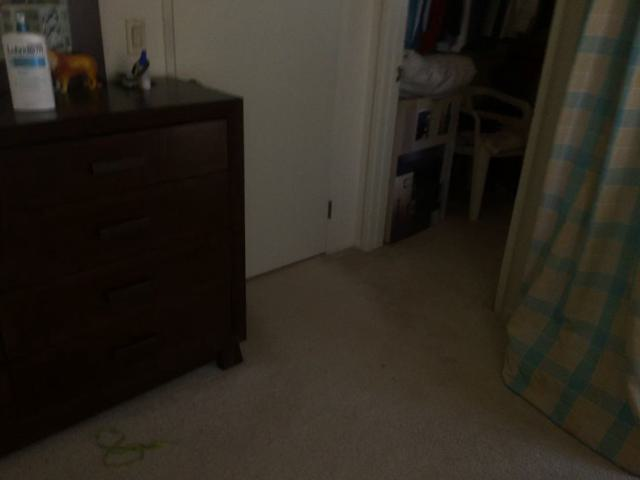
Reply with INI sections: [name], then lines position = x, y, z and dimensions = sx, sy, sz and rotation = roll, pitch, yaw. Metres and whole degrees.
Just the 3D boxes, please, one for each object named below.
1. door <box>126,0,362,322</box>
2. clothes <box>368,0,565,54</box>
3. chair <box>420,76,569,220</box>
[door]
position = -0.240, -0.600, 2.290
dimensions = 0.980, 1.700, 0.130
rotation = -18, 29, -39
[clothes]
position = 0.870, -1.480, 3.100
dimensions = 1.410, 0.850, 0.290
rotation = -18, 29, -39
[chair]
position = 1.050, -0.590, 3.520
dimensions = 0.640, 0.700, 0.520
rotation = -18, 29, -39
